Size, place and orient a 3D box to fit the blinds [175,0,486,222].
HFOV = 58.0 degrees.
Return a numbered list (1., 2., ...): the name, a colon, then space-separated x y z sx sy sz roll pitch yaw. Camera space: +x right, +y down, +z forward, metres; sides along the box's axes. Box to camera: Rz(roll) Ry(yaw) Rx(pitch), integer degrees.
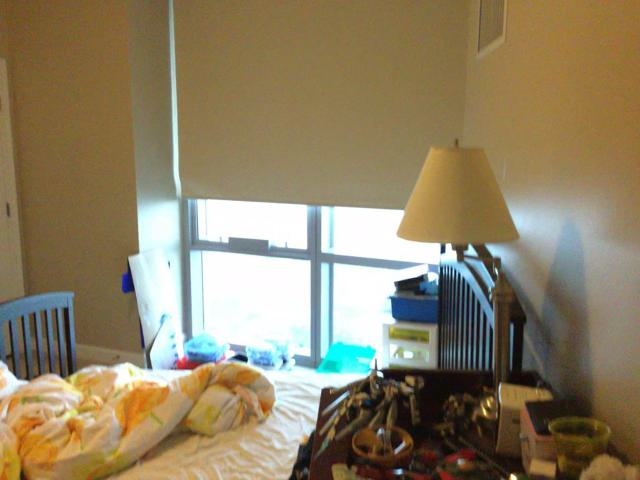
1. blinds: -0.020 -0.880 3.620 1.890 1.310 0.520 7 11 30
